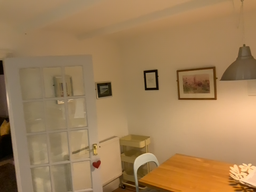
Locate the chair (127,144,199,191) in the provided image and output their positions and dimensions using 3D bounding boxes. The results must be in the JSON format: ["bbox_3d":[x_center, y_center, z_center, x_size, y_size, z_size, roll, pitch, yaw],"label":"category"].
[{"bbox_3d":[0.400,1.050,2.330,0.530,0.820,0.560,1,7,43],"label":"chair"}]
